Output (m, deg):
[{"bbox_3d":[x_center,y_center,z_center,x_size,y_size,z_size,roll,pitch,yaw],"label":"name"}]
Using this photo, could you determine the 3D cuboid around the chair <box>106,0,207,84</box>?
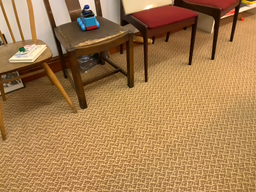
[{"bbox_3d":[0.190,-0.650,1.670,0.490,0.810,0.590,-24,46,-24],"label":"chair"}]

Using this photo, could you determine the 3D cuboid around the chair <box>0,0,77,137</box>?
[{"bbox_3d":[-0.680,-0.290,1.260,0.440,0.820,0.530,-24,46,-24],"label":"chair"}]

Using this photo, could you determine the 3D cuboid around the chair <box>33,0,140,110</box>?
[{"bbox_3d":[-0.280,-0.450,1.440,0.470,0.810,0.570,-24,46,-24],"label":"chair"}]
